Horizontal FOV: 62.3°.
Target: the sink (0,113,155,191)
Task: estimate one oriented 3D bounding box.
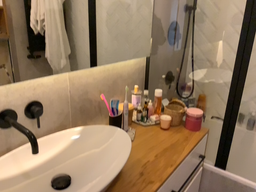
[{"bbox_3d":[-0.240,0.260,0.730,0.370,0.110,0.650,17,24,34],"label":"sink"}]
